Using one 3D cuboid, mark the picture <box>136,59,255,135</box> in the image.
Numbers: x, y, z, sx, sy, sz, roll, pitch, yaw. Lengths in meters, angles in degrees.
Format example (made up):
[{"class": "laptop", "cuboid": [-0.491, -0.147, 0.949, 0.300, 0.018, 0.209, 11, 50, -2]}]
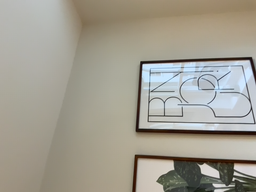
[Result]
[{"class": "picture", "cuboid": [0.420, -0.010, 1.300, 0.030, 0.710, 0.490, 71, -159, -60]}]
